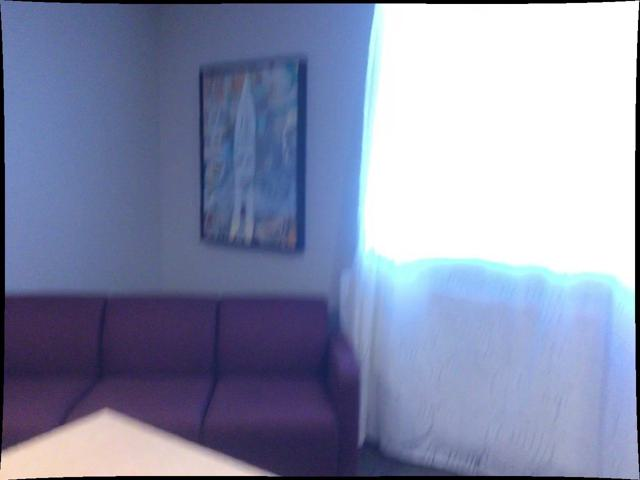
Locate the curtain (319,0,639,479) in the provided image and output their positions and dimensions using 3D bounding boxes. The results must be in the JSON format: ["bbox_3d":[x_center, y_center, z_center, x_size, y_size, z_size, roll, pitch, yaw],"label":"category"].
[{"bbox_3d":[0.839,-0.140,2.450,1.808,2.614,0.320,4,8,34],"label":"curtain"}]

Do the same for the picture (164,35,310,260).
[{"bbox_3d":[-0.489,-0.501,3.290,0.949,1.142,0.150,4,8,34],"label":"picture"}]

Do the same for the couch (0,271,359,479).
[{"bbox_3d":[-0.739,0.671,2.630,1.717,0.891,0.860,-1,7,-4],"label":"couch"}]
